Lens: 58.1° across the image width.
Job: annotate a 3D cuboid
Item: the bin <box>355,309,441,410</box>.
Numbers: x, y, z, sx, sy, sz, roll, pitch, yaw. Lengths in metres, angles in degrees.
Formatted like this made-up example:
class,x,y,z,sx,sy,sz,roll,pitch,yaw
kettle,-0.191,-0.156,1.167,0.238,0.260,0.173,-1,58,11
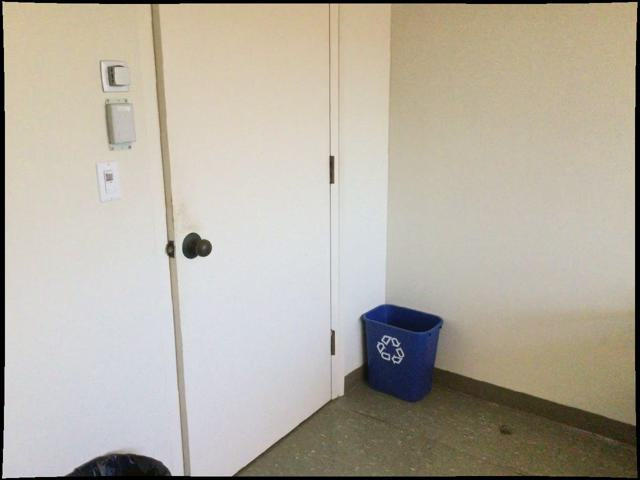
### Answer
class,x,y,z,sx,sy,sz,roll,pitch,yaw
bin,0.389,0.582,2.860,0.339,0.351,0.250,9,18,37

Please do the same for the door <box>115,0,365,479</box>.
class,x,y,z,sx,sy,sz,roll,pitch,yaw
door,-0.190,0.000,2.290,0.100,1.844,1.099,9,18,37
